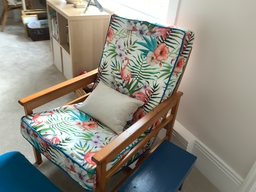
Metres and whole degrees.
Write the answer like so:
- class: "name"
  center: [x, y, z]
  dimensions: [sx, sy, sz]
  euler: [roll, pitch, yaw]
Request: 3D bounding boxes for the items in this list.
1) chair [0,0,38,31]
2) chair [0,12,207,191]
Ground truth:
- class: "chair"
  center: [-2.000, -1.630, 3.680]
  dimensions: [0.560, 0.780, 0.600]
  euler: [-16, 39, -32]
- class: "chair"
  center: [-0.110, 0.040, 1.330]
  dimensions: [0.620, 0.880, 0.900]
  euler: [29, 39, 30]
